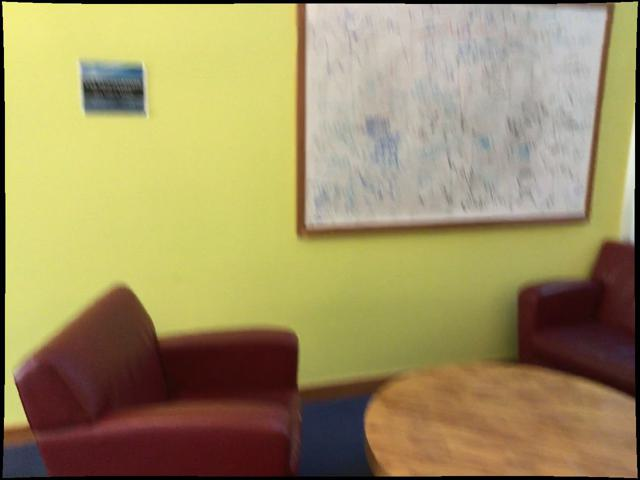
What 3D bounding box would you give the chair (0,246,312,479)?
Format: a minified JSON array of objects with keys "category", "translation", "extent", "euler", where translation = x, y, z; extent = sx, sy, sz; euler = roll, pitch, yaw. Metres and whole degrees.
[{"category":"chair","translation":[-0.490,0.591,2.160],"extent":[0.809,0.731,0.860],"euler":[-5,29,4]}]
